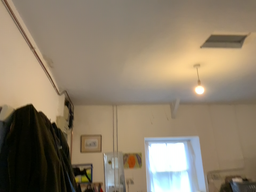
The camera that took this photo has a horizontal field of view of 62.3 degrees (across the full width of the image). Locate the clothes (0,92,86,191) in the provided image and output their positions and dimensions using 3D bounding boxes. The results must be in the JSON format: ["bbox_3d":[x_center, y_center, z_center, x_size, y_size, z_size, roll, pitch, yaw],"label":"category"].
[{"bbox_3d":[-0.680,0.780,1.900,0.450,1.230,1.520,-1,-16,-6],"label":"clothes"}]
